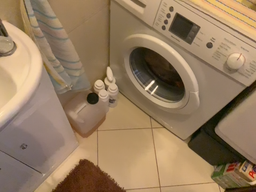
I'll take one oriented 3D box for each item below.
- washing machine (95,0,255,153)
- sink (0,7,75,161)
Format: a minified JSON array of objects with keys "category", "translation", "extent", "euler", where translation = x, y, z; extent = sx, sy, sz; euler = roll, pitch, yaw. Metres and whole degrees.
[{"category":"washing machine","translation":[0.250,-0.210,1.060],"extent":[0.620,0.850,0.500],"euler":[39,65,14]},{"category":"sink","translation":[-0.390,0.050,0.460],"extent":[0.230,0.170,0.490],"euler":[39,65,14]}]
